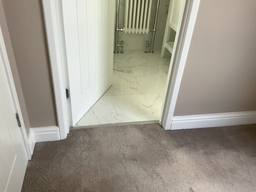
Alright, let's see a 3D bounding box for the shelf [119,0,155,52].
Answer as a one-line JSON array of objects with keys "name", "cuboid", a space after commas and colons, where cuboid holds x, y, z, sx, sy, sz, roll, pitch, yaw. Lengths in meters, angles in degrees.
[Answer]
[{"name": "shelf", "cuboid": [0.110, -1.090, 2.510, 0.370, 1.090, 0.240, 3, 33, -3]}]
